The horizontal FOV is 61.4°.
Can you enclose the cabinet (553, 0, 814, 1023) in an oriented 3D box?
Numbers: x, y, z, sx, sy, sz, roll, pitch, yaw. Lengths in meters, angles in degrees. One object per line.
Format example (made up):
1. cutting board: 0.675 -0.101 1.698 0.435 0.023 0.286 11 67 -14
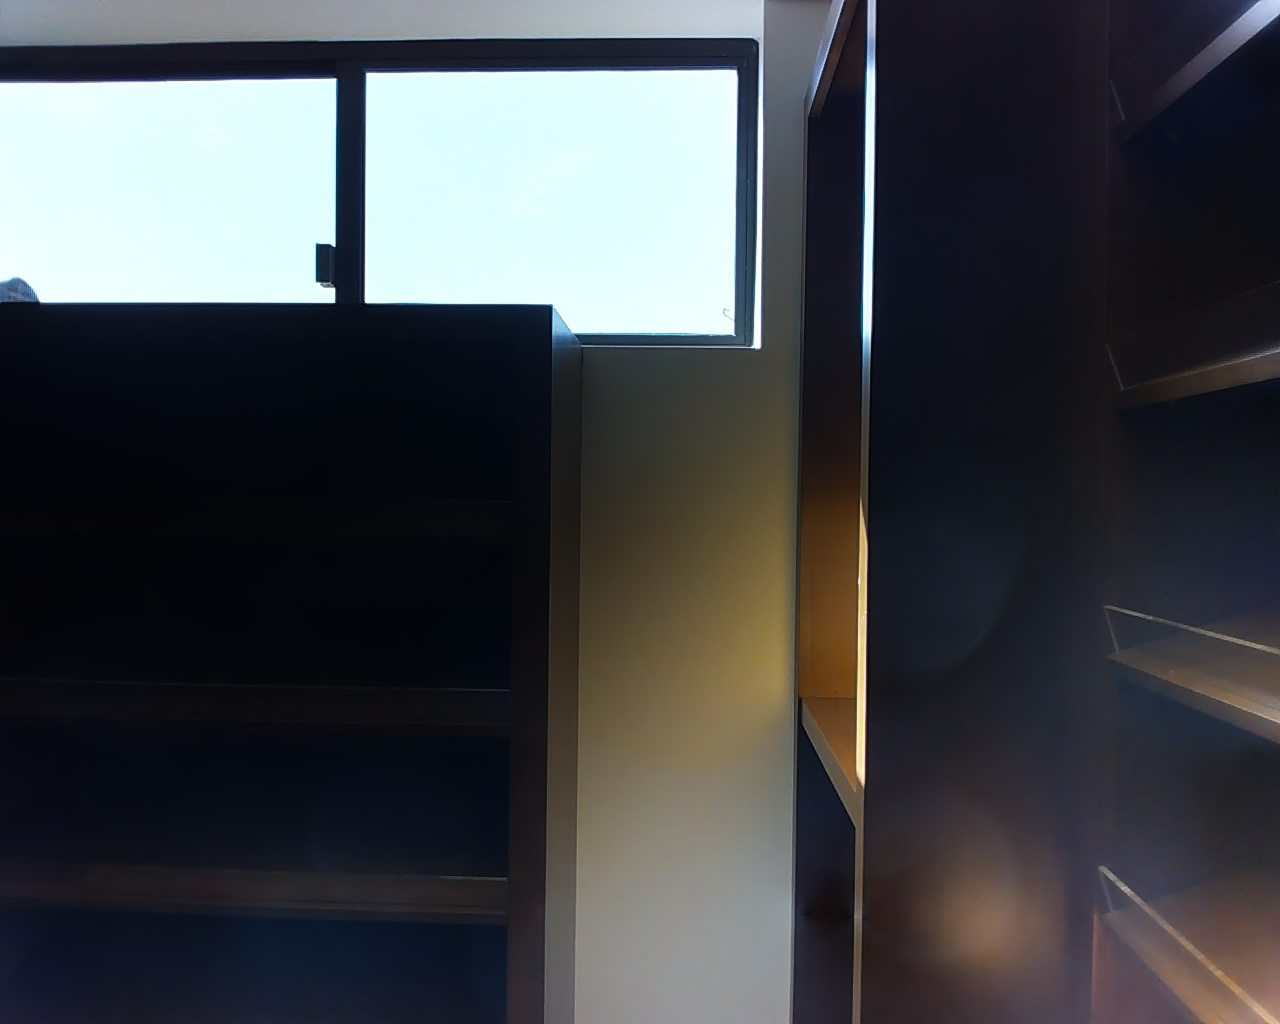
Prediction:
1. cabinet: 0.070 0.330 1.880 0.410 2.370 0.180 1 1 3
